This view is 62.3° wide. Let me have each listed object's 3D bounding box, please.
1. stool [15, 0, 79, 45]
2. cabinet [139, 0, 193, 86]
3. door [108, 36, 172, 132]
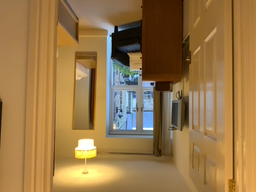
[{"bbox_3d":[-0.990,-1.040,2.800,0.410,0.430,1.060,1,178,2],"label":"stool"},{"bbox_3d":[0.440,-0.720,2.770,0.550,1.120,0.870,0,178,1],"label":"cabinet"},{"bbox_3d":[0.240,-0.250,4.340,1.290,1.940,0.120,0,178,1],"label":"door"}]
